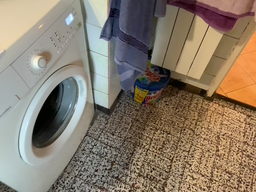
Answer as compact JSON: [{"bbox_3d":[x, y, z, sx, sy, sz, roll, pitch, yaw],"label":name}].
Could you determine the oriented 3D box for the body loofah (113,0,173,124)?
[{"bbox_3d":[0.080,-0.340,0.870,0.120,1.320,0.300,24,56,12],"label":"body loofah"}]

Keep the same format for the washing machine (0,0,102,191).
[{"bbox_3d":[-0.560,-0.030,0.960,0.660,0.850,0.620,21,55,9],"label":"washing machine"}]
